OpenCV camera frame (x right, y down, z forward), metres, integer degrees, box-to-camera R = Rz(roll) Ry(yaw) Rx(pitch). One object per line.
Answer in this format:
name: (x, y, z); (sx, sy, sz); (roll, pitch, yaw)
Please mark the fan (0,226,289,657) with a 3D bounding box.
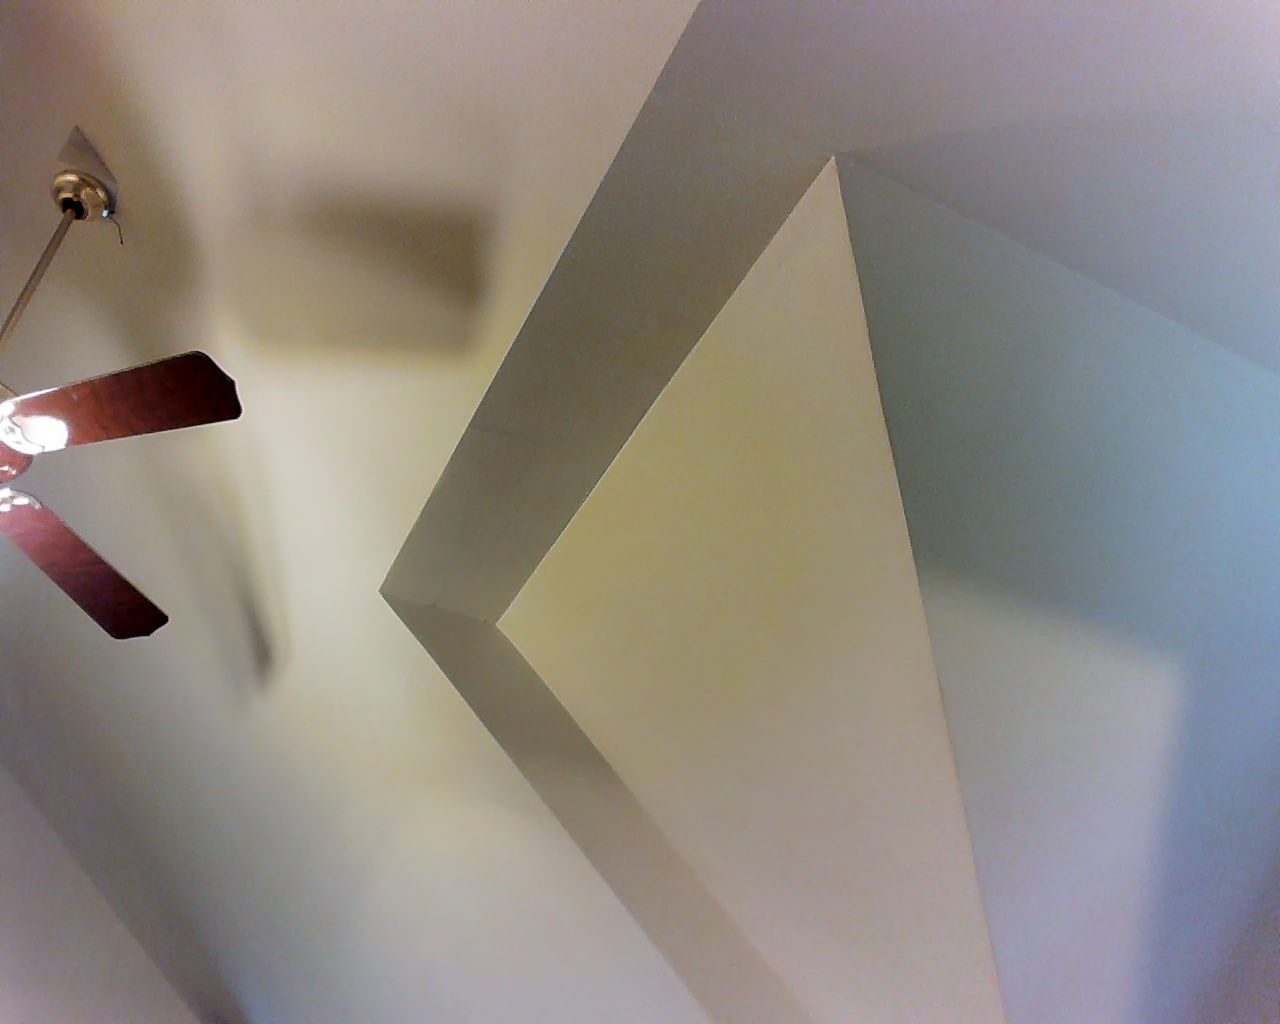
fan: (-1.279, -0.140, 2.040); (0.970, 0.150, 0.960); (18, -43, -20)
